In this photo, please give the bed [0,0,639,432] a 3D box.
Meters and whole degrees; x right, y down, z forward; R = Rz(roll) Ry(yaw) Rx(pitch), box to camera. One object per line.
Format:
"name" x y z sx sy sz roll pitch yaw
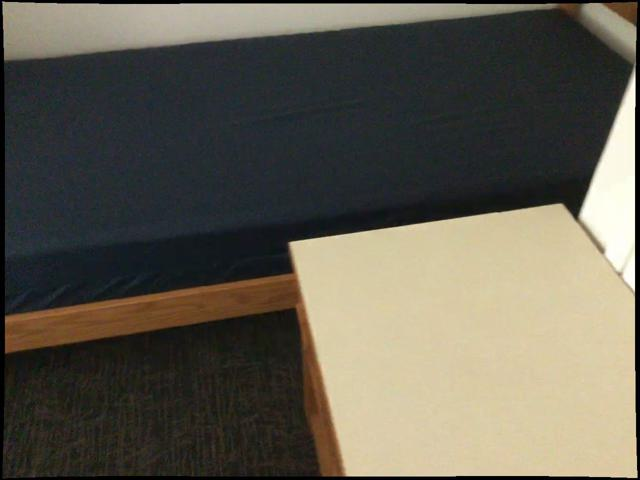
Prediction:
"bed" -0.050 -0.371 1.590 2.235 0.971 1.071 -9 44 -8
